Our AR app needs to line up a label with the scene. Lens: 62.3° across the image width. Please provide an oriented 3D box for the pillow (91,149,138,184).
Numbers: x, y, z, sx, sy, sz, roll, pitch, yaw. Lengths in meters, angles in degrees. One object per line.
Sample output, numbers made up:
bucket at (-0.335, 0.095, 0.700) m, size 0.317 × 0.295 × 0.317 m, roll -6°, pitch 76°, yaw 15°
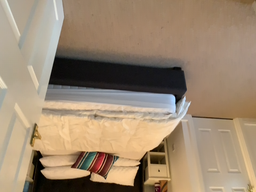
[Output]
pillow at (-0.220, 1.090, 3.320) m, size 0.690 × 0.430 × 0.240 m, roll 1°, pitch -168°, yaw -10°

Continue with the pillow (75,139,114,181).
pillow at (-0.480, 0.900, 3.040) m, size 0.490 × 0.380 × 0.240 m, roll -8°, pitch -163°, yaw -43°

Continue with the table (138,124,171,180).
table at (0.420, 0.960, 3.590) m, size 0.370 × 0.790 × 0.560 m, roll 4°, pitch 149°, yaw -8°

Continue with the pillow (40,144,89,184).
pillow at (-0.930, 1.010, 3.180) m, size 0.640 × 0.480 × 0.290 m, roll 3°, pitch -164°, yaw -5°
